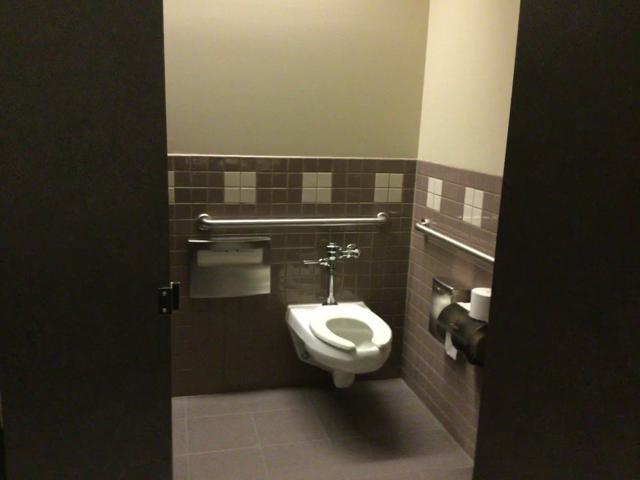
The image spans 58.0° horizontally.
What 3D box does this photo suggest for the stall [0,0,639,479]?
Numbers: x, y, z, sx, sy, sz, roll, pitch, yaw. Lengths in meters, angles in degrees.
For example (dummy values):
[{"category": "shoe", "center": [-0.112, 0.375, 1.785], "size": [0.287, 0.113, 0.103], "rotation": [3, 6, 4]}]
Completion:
[{"category": "stall", "center": [-0.090, -0.320, 2.000], "size": [1.750, 2.610, 1.570], "rotation": [3, 10, -15]}]
